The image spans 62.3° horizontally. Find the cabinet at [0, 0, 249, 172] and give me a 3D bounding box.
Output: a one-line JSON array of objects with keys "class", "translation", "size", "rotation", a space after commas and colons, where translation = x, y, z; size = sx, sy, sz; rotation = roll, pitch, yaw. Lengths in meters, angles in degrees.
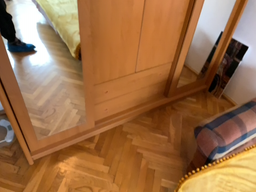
[{"class": "cabinet", "translation": [0.030, -0.760, 1.340], "size": [1.840, 2.340, 0.610], "rotation": [-20, 50, -26]}]
